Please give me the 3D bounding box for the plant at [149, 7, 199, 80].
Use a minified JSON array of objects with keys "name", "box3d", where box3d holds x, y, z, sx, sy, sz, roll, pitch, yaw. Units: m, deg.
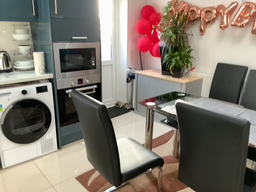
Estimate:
[{"name":"plant","box3d":[0.660,-0.770,3.140,0.410,0.950,0.520,-14,22,-39]}]
